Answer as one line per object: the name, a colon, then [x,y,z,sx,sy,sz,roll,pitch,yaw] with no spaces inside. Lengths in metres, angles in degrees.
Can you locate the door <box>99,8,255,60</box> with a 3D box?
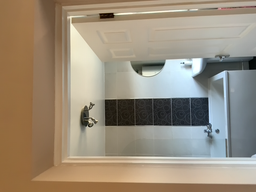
door: [0.780,-0.390,1.440,0.760,1.810,0.030,53,-144,-82]

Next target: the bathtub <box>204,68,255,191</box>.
bathtub: [1.510,0.500,2.990,0.740,0.610,1.660,32,-123,-84]
